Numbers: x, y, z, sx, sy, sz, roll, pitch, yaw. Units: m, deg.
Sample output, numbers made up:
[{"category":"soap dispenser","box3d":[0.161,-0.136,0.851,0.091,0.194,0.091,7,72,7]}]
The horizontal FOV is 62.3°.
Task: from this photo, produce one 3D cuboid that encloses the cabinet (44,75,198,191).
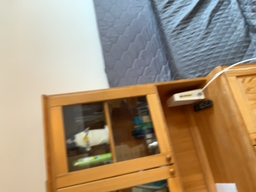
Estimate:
[{"category":"cabinet","box3d":[-0.050,0.440,1.250,0.360,0.720,1.000,118,142,-66]}]
